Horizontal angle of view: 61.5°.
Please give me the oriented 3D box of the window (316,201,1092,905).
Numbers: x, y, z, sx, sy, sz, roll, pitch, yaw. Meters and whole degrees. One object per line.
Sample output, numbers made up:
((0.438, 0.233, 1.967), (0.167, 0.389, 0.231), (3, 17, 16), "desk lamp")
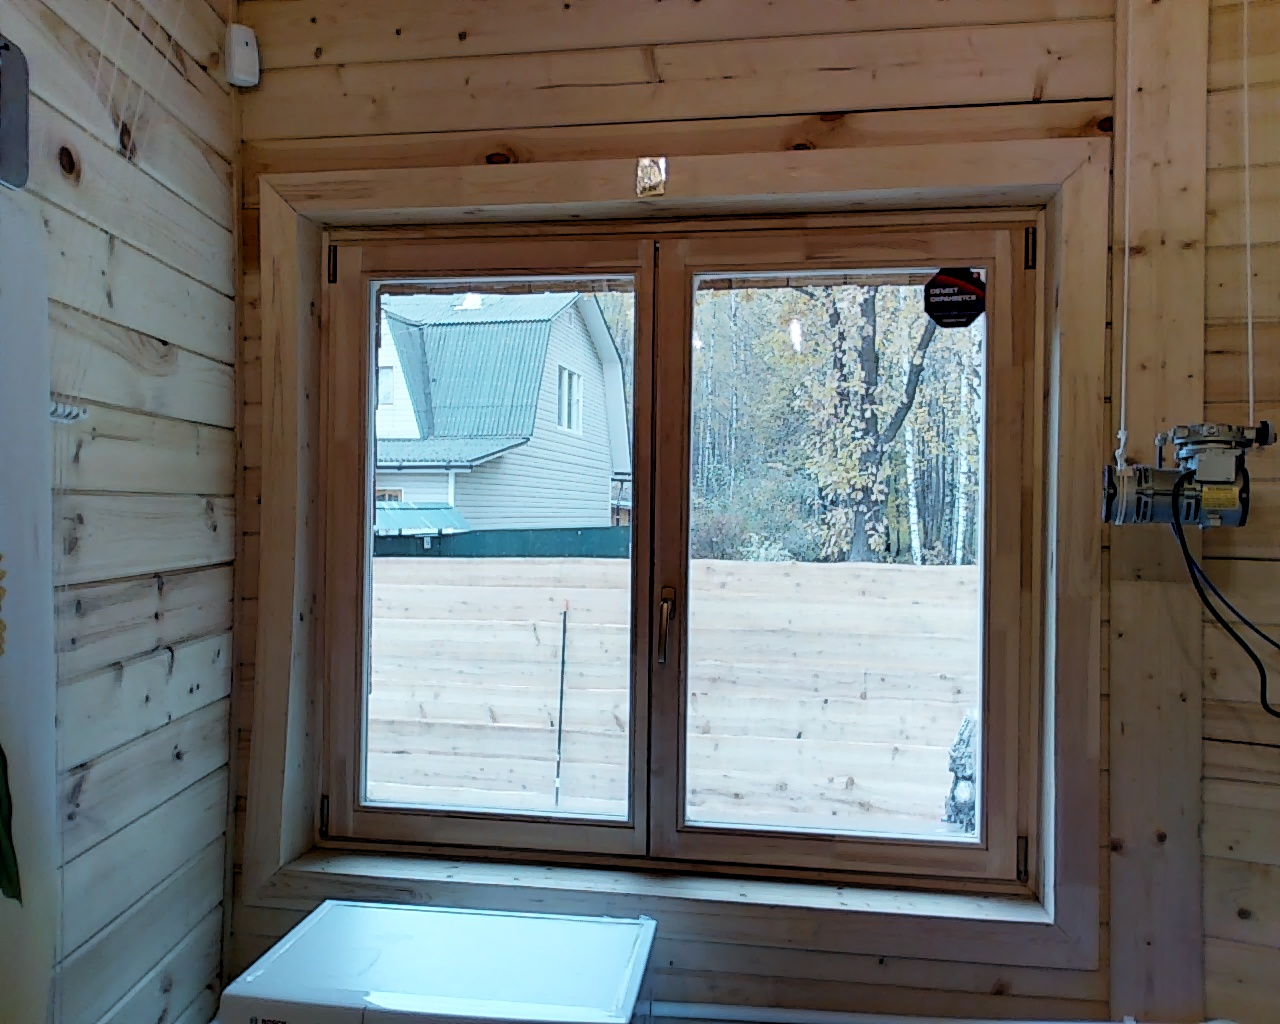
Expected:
((0.090, 0.060, 2.210), (1.510, 1.260, 0.230), (1, 0, 13), "window")
